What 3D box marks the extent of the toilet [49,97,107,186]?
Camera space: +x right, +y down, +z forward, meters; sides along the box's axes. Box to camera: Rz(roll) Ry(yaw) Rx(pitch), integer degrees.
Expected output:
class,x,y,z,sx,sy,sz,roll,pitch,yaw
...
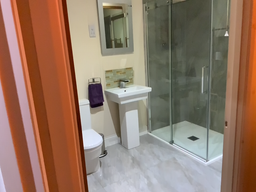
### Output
class,x,y,z,sx,sy,sz,roll,pitch,yaw
toilet,-0.630,0.500,2.620,0.430,0.800,0.670,-11,16,-29
